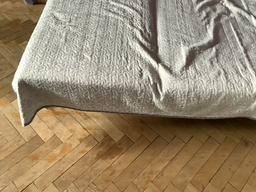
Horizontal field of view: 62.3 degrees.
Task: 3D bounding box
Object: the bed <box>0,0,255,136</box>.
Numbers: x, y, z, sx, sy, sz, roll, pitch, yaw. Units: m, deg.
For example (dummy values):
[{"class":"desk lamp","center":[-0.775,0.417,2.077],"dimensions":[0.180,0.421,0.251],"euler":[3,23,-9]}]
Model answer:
[{"class":"bed","center":[0.550,-0.520,1.440],"dimensions":[2.140,0.400,1.510],"euler":[3,55,-2]}]
